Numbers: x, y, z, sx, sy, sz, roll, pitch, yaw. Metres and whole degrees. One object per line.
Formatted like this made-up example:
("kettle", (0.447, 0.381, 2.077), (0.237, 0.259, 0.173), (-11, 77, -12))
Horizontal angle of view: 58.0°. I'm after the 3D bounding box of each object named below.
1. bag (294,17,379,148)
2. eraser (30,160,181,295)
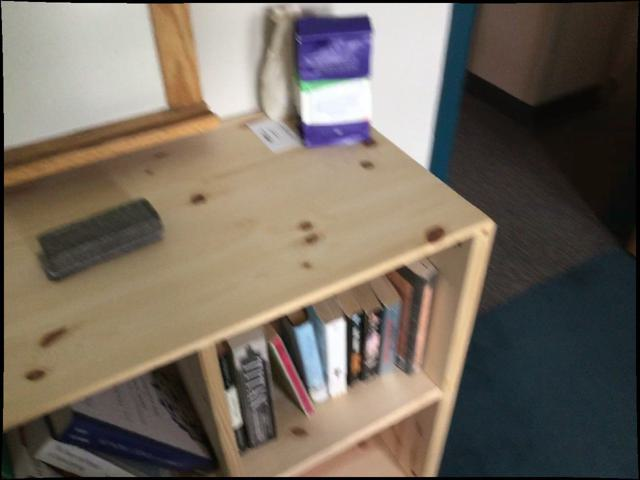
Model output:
("bag", (0.020, -0.221, 0.810), (0.100, 0.140, 0.100), (-5, 44, -4))
("eraser", (-0.249, -0.020, 0.670), (0.130, 0.050, 0.130), (-21, 47, -20))
